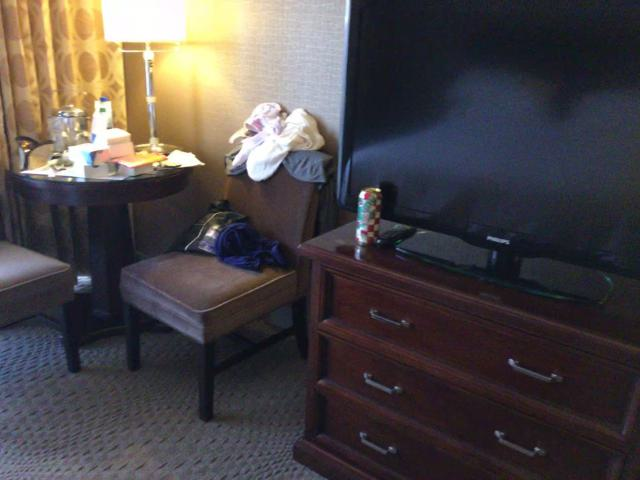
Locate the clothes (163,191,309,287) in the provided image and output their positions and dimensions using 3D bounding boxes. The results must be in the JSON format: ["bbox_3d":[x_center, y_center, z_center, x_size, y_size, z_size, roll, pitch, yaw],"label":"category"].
[{"bbox_3d":[-0.340,-0.020,2.310,0.530,0.220,0.260,15,21,31],"label":"clothes"}]

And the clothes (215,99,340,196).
[{"bbox_3d":[-0.180,-0.390,2.340,0.450,0.310,0.230,15,21,31],"label":"clothes"}]
